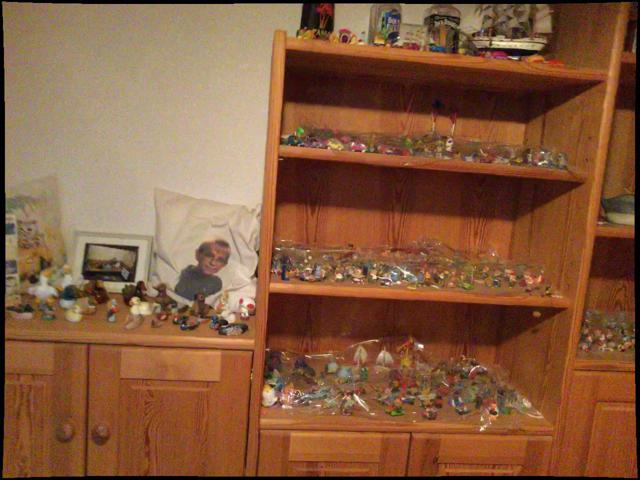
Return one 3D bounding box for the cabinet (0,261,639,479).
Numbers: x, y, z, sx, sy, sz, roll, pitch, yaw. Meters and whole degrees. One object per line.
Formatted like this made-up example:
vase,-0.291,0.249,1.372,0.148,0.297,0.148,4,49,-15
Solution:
cabinet,0.280,0.691,1.520,2.458,1.201,0.340,1,11,-6
